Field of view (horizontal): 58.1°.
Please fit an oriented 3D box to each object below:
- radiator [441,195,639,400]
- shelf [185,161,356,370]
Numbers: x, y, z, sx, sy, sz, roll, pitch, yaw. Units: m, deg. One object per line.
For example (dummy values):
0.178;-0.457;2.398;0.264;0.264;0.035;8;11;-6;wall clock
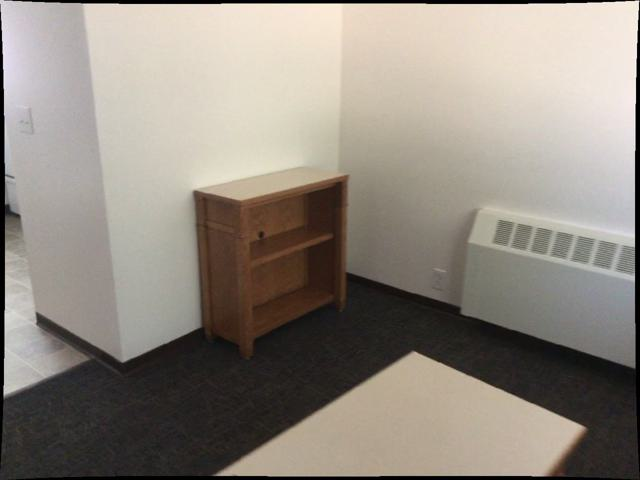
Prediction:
1.488;0.361;2.260;2.108;0.661;0.180;17;27;36;radiator
-0.210;0.080;2.860;0.350;0.761;0.800;17;27;36;shelf
